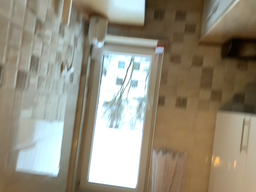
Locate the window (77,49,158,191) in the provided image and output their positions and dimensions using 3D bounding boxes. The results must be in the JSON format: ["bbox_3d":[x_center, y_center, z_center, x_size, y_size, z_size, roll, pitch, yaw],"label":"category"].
[{"bbox_3d":[-0.100,0.260,2.200,0.650,1.410,0.200,7,179,7],"label":"window"}]
